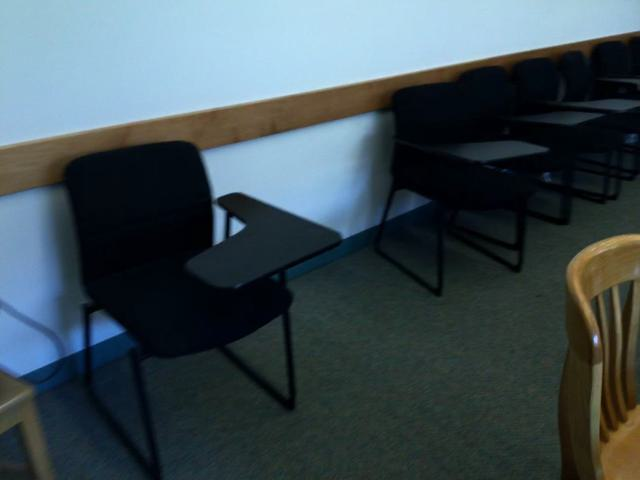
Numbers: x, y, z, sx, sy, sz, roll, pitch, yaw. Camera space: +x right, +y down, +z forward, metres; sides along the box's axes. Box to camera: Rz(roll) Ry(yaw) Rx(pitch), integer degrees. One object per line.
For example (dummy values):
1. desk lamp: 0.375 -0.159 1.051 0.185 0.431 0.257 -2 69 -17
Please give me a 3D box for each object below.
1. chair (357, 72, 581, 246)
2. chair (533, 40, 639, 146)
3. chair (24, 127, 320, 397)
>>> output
1. chair: 0.640 -0.410 2.590 0.630 0.520 0.700 -23 32 -38
2. chair: 1.880 -0.960 3.680 0.630 0.490 0.720 -23 32 -38
3. chair: -0.430 0.000 1.730 0.550 0.470 0.650 -23 32 -38
